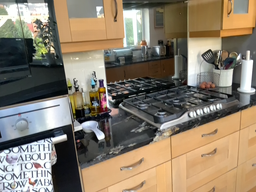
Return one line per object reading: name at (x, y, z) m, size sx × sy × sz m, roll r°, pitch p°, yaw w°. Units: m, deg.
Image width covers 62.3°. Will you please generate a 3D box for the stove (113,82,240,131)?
stove at (0.320, 0.030, 1.520) m, size 0.670 × 0.060 × 0.580 m, roll -12°, pitch 19°, yaw -27°
